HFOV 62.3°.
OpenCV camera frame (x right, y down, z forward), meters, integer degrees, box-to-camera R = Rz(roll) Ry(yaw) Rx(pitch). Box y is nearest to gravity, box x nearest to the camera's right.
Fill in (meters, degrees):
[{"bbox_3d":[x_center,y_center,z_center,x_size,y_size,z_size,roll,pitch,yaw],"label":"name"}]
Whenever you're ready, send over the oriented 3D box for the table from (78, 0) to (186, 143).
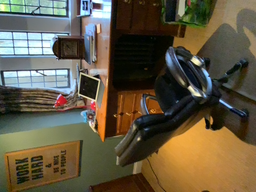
[{"bbox_3d":[-0.060,-0.470,2.540,0.930,0.840,1.640,40,130,55],"label":"table"}]
